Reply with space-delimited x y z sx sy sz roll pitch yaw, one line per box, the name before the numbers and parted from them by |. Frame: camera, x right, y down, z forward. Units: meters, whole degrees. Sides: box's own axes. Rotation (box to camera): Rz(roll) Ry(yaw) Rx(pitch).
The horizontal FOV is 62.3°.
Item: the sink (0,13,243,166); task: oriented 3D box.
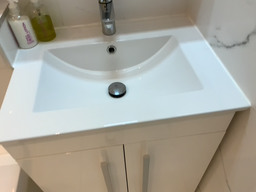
sink | -0.050 -0.070 0.700 0.600 0.130 0.470 -8 48 -5
